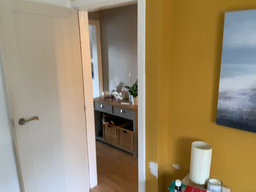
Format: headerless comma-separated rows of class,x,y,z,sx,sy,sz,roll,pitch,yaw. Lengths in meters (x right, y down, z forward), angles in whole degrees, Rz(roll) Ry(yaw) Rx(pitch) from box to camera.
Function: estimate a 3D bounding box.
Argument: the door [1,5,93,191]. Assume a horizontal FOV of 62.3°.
door,-0.640,0.230,1.970,0.070,1.890,0.760,8,16,30
